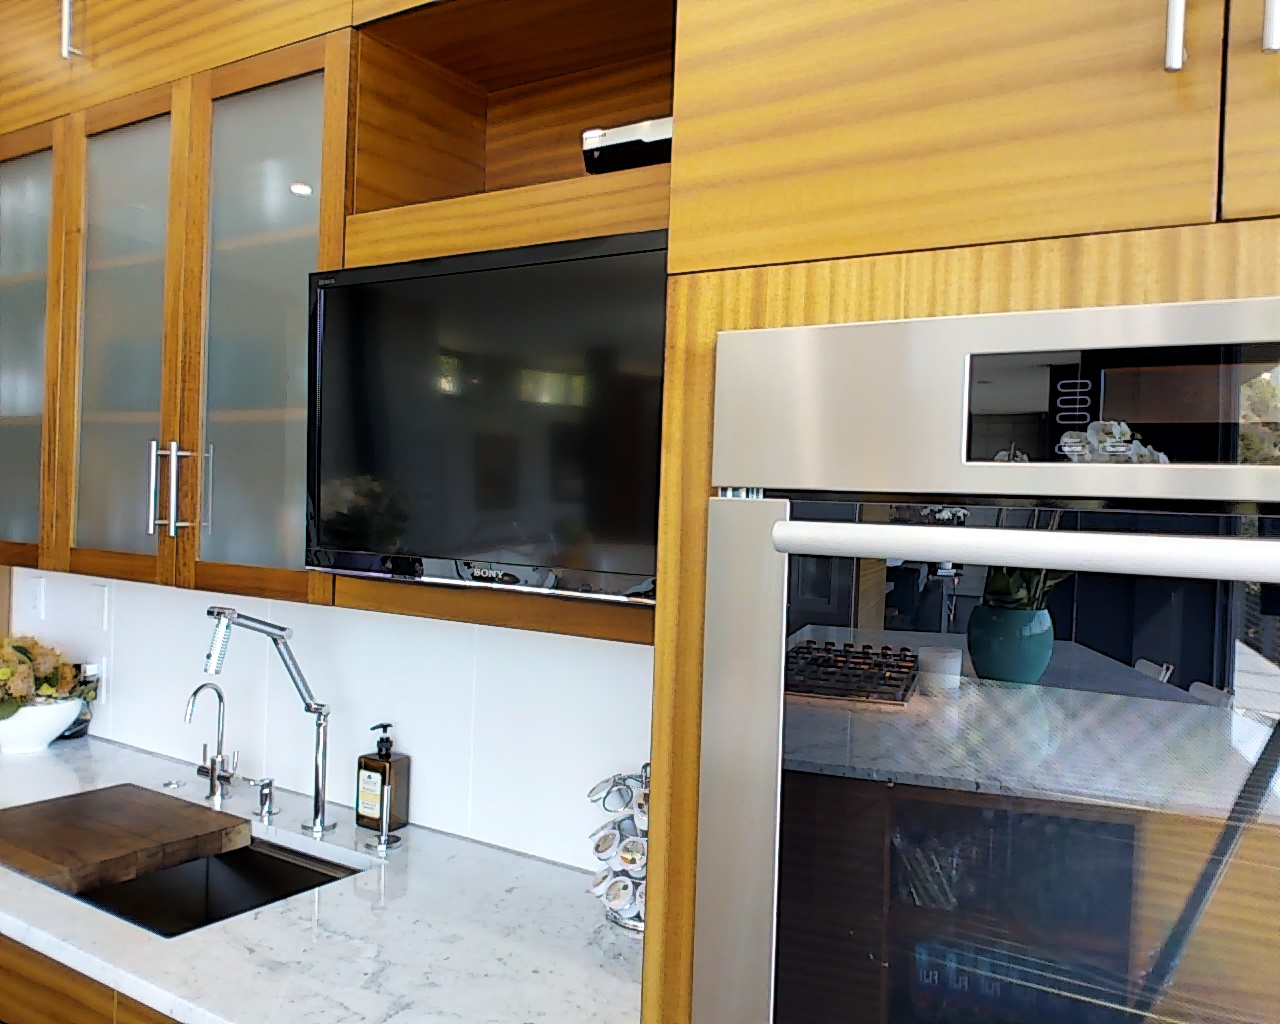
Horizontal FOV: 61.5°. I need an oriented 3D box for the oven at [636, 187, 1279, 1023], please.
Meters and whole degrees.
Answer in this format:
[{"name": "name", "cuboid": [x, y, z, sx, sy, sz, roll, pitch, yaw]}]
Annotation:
[{"name": "oven", "cuboid": [0.360, 0.450, 0.740, 0.780, 1.300, 0.120, 2, 0, 31]}]
